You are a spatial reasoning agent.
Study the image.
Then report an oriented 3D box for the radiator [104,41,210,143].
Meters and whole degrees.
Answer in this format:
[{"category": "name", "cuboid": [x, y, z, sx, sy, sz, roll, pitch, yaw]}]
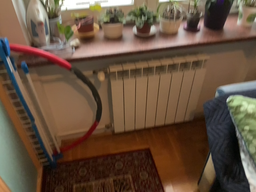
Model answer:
[{"category": "radiator", "cuboid": [0.180, -0.010, 1.570, 0.640, 0.680, 0.210, -10, 41, -11]}]
